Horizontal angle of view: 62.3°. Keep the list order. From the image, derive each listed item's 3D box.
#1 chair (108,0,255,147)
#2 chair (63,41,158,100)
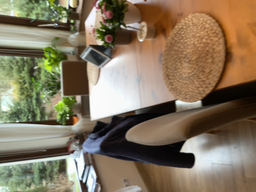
[{"bbox_3d":[0.460,-0.120,1.070,0.510,0.940,0.620,-25,69,60],"label":"chair"},{"bbox_3d":[-0.220,-0.240,2.430,0.620,0.900,0.510,-11,81,62],"label":"chair"}]
